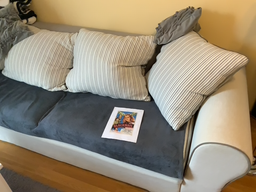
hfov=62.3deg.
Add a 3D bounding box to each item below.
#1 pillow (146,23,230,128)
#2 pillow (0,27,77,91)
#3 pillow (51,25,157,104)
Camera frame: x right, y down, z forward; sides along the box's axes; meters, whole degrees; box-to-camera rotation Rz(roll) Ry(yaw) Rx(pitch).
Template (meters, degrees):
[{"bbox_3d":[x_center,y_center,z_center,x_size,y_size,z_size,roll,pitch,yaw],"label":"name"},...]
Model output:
[{"bbox_3d":[0.340,-0.110,1.350,0.240,0.440,0.450,-26,63,-5],"label":"pillow"},{"bbox_3d":[-0.770,-0.320,1.770,0.550,0.370,0.290,12,38,16],"label":"pillow"},{"bbox_3d":[-0.150,-0.250,1.590,0.650,0.400,0.340,9,39,14],"label":"pillow"}]
